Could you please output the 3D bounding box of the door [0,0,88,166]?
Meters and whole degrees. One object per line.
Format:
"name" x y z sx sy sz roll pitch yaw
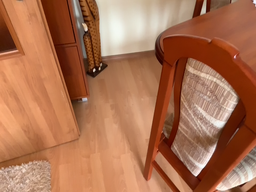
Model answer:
"door" -0.690 -0.310 0.670 0.840 1.980 0.150 -15 50 -14
